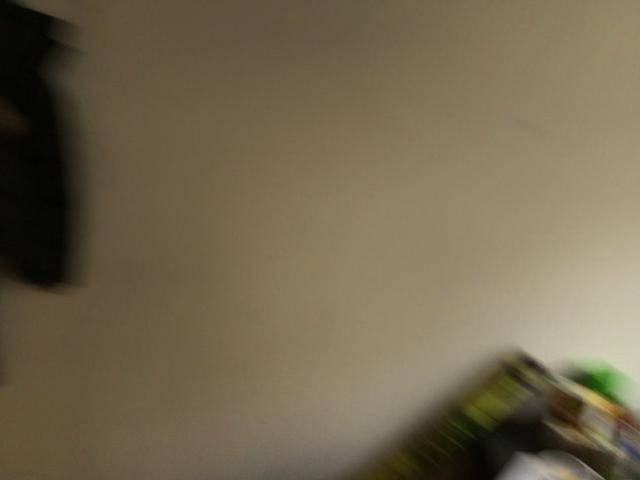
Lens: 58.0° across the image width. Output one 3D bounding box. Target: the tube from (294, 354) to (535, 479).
[{"bbox_3d":[0.250,0.650,1.670,0.640,0.670,0.080,0,17,-1],"label":"tube"}]
